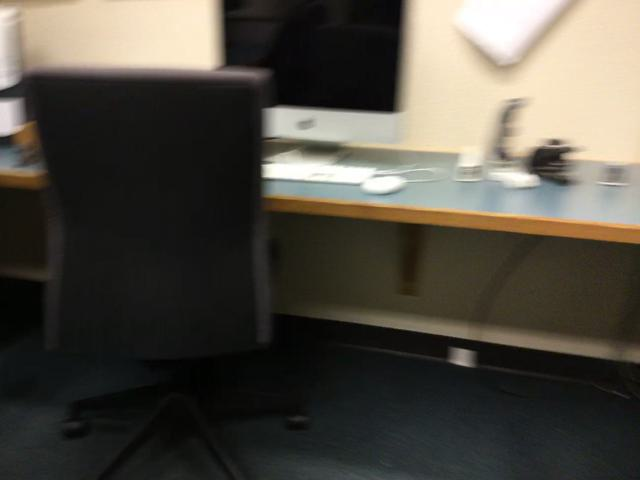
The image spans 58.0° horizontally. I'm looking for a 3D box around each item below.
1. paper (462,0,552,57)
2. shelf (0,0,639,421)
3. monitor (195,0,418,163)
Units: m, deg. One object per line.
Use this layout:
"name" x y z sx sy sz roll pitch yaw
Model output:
"paper" 0.530 -0.670 1.620 0.220 0.310 0.080 7 -20 15
"shelf" 0.330 -0.710 1.680 3.930 2.340 0.220 7 15 15
"monitor" -0.040 -0.490 1.630 0.570 0.480 0.220 7 15 15
